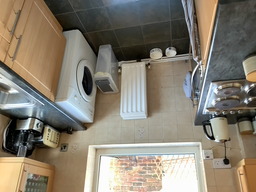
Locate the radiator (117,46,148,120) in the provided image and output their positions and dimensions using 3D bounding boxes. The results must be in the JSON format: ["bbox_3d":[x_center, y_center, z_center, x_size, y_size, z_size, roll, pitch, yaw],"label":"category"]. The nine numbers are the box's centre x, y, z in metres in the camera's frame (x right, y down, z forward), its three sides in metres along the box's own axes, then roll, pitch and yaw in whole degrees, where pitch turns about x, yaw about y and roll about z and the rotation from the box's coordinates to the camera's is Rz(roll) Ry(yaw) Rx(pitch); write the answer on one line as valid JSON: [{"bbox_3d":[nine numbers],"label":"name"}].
[{"bbox_3d":[0.050,-0.170,2.500,0.320,0.900,0.130,-4,154,10],"label":"radiator"}]

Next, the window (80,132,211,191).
[{"bbox_3d":[0.170,1.070,2.230,1.290,1.250,0.380,-4,154,10],"label":"window"}]
